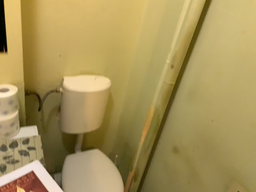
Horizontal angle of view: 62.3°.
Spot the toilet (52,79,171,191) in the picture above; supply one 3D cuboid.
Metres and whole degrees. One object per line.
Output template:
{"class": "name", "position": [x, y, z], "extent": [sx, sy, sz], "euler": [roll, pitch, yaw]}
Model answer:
{"class": "toilet", "position": [-0.200, 0.450, 1.290], "extent": [0.380, 0.940, 0.580], "euler": [-3, 34, -28]}
